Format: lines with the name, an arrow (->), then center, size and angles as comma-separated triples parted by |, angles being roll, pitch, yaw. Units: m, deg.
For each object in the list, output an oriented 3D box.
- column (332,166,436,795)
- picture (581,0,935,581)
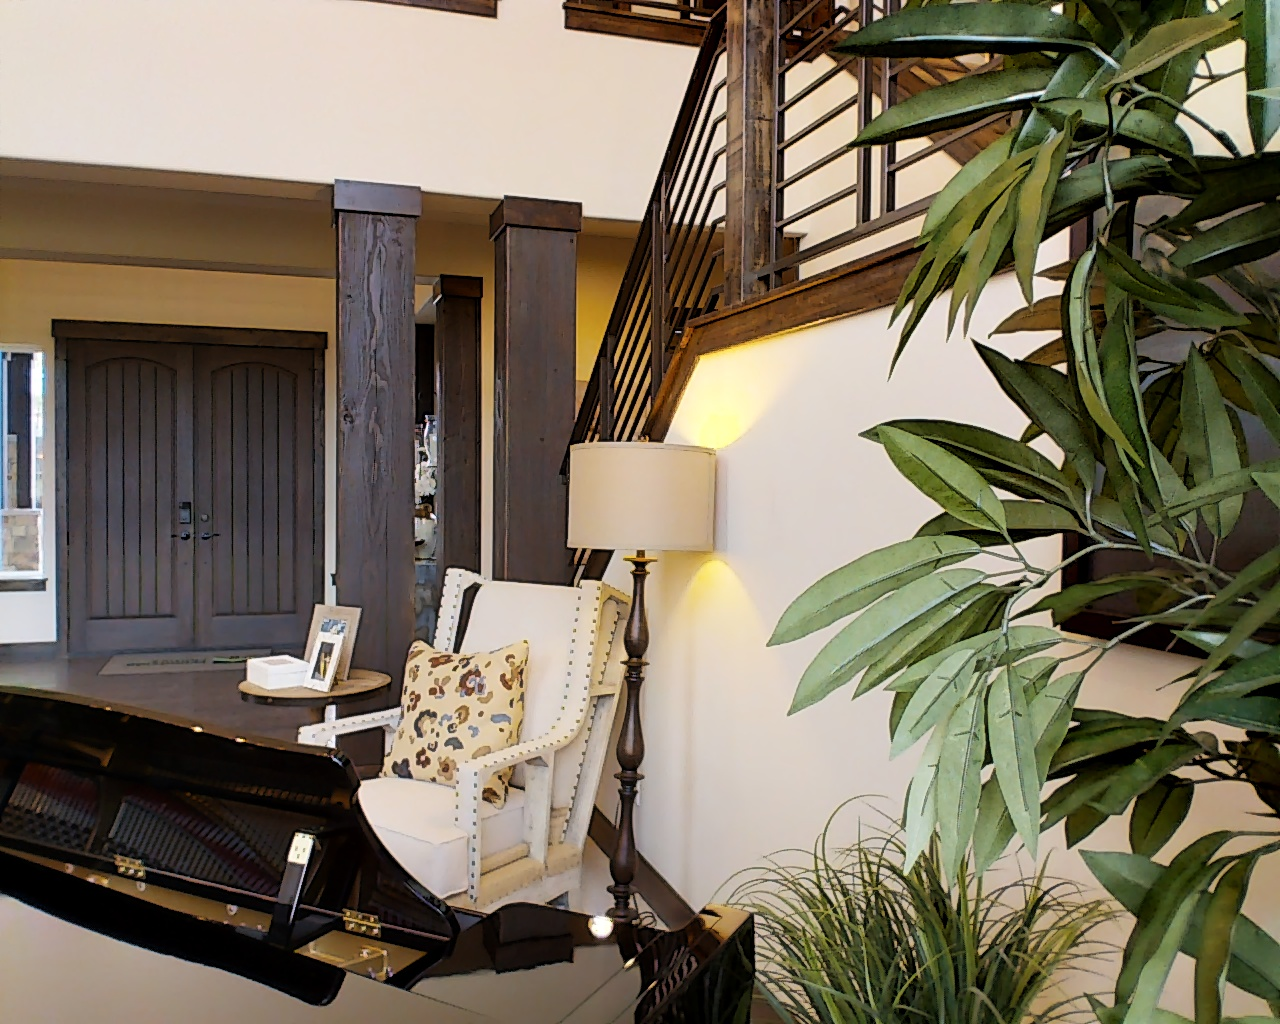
column -> -1.160, -0.130, 4.830 | 0.420, 2.680, 0.420 | 0, 2, -18
picture -> 0.410, -0.720, 3.100 | 1.400, 1.760, 0.070 | -1, 2, -41
